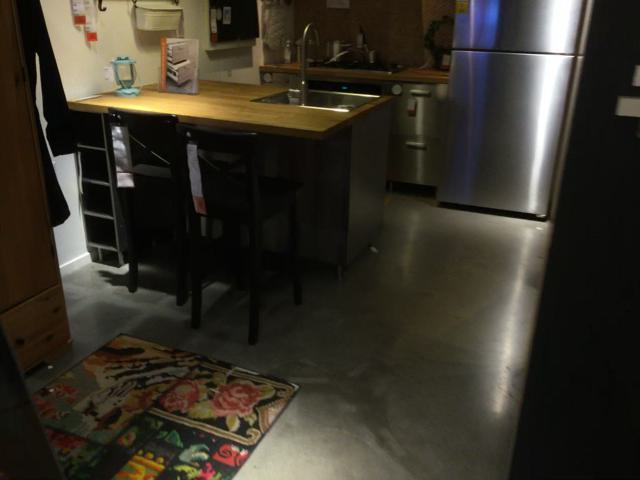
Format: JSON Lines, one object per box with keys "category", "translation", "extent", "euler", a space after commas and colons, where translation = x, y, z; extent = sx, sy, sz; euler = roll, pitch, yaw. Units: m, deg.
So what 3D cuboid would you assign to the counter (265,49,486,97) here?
{"category": "counter", "translation": [0.410, -1.270, 4.320], "extent": [1.500, 0.250, 0.660], "euler": [9, 23, 23]}
